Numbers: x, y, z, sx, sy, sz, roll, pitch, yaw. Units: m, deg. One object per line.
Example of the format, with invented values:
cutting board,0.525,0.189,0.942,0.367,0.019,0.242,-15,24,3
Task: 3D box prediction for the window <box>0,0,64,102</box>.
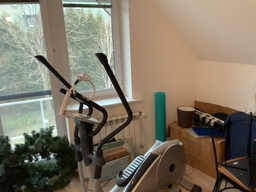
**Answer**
window,-1.280,-0.550,2.460,0.900,1.190,0.110,-8,16,-21
